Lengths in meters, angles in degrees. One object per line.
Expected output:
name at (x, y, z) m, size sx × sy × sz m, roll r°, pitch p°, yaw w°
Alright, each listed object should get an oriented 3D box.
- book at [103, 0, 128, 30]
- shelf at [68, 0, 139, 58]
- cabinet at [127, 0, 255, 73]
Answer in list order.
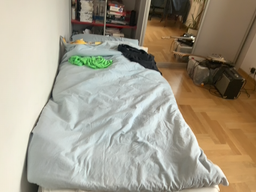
book at (-0.200, -1.240, 3.210) m, size 0.320 × 0.350 × 0.340 m, roll 3°, pitch 34°, yaw -11°
shelf at (-0.280, -1.860, 2.820) m, size 0.980 × 2.670 × 0.380 m, roll 3°, pitch 34°, yaw -11°
cabinet at (1.090, -1.720, 2.980) m, size 1.770 × 2.670 × 0.650 m, roll 3°, pitch 34°, yaw -11°
